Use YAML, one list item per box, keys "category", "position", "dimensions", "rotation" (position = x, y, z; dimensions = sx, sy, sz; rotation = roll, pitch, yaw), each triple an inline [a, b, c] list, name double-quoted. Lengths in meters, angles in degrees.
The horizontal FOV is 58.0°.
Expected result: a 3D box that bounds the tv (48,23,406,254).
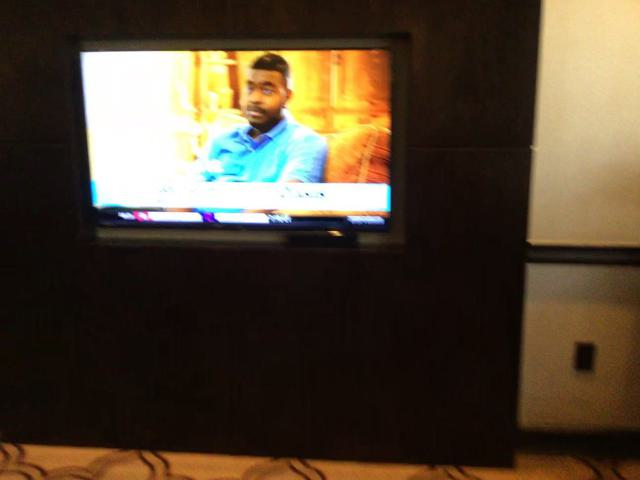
- category: "tv"
  position: [-0.330, -0.380, 2.290]
  dimensions: [1.290, 0.810, 0.390]
  rotation: [0, 7, 4]
